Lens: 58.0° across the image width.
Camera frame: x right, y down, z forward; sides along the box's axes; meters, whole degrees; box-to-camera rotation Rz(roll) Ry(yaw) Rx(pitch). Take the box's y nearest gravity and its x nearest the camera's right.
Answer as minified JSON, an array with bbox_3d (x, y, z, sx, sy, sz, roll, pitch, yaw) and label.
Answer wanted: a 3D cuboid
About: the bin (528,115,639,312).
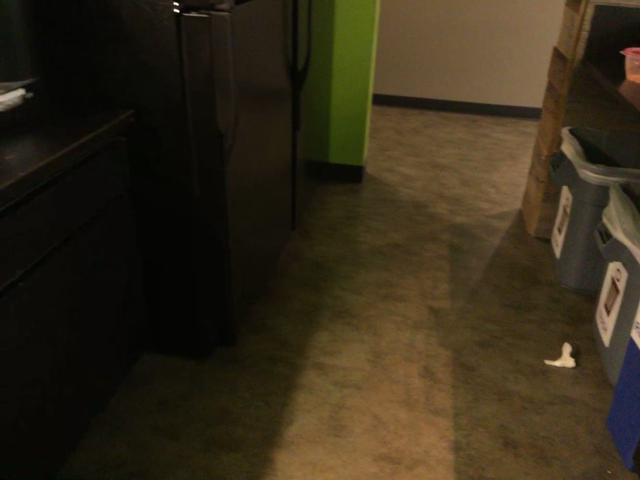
[{"bbox_3d":[1.180,-0.120,2.330,0.520,0.590,0.540,6,30,12],"label":"bin"}]

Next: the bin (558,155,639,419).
[{"bbox_3d":[1.130,0.140,1.820,0.540,0.590,0.620,6,30,12],"label":"bin"}]
